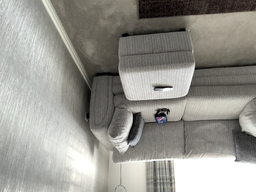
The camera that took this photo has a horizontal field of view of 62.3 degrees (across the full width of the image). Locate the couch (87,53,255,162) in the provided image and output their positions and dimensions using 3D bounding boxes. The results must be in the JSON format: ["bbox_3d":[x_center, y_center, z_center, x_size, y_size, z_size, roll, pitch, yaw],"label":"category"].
[{"bbox_3d":[0.700,0.210,2.500,2.060,0.850,0.990,-4,152,6],"label":"couch"}]

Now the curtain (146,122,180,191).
[{"bbox_3d":[0.530,1.440,3.090,0.430,2.190,0.170,-3,152,4],"label":"curtain"}]

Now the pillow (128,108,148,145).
[{"bbox_3d":[0.120,0.350,2.420,0.200,0.320,0.340,0,152,5],"label":"pillow"}]
